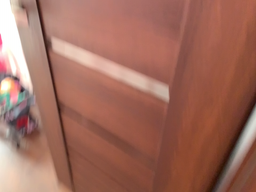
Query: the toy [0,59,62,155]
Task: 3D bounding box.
[{"bbox_3d":[-0.810,0.060,1.590,0.400,0.450,0.440,-22,44,-30],"label":"toy"}]
